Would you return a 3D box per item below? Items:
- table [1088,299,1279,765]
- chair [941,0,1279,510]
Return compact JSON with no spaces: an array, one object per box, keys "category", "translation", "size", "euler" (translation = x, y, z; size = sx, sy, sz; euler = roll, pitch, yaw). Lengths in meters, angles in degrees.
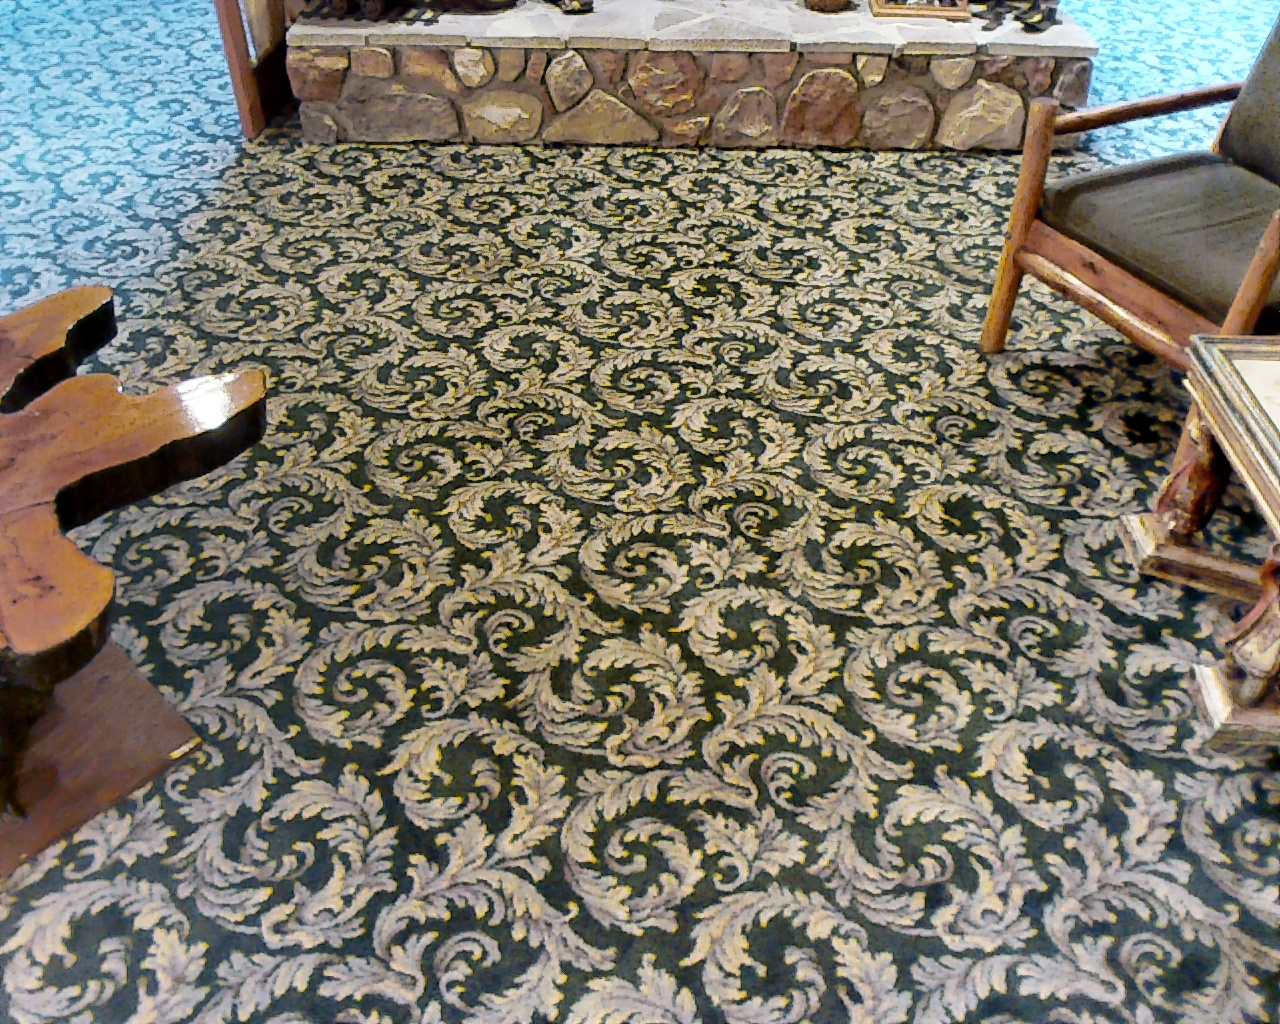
[{"category":"table","translation":[1.460,0.020,1.980],"size":[0.910,0.520,0.700],"euler":[0,41,0]},{"category":"chair","translation":[1.440,-0.800,2.490],"size":[0.920,1.080,0.860],"euler":[-18,45,-20]}]
